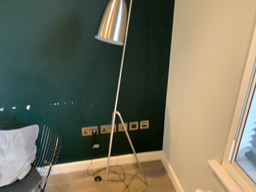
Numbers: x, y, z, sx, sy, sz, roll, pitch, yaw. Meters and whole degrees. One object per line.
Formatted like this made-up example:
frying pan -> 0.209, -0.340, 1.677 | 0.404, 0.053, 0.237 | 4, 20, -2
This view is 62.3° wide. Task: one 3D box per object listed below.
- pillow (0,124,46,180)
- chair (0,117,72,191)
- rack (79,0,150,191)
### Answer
pillow -> -0.930, 0.450, 1.600 | 0.470, 0.460, 0.270 | -6, 63, -8
chair -> -0.850, 0.660, 1.530 | 0.730, 0.640, 0.590 | -15, 29, -27
rack -> -0.110, 0.020, 1.520 | 0.340, 1.740, 0.510 | -5, 26, -10
